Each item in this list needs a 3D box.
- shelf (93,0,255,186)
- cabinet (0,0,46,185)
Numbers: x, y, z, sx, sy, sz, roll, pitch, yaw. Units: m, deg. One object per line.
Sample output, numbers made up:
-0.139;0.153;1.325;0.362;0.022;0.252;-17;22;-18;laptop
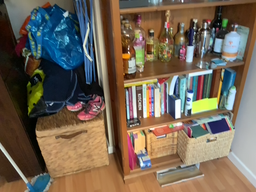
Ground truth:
0.290;-0.340;1.270;0.920;1.900;0.380;-8;30;-11;shelf
-0.930;-0.100;1.550;0.340;1.290;0.710;-9;31;-14;cabinet
